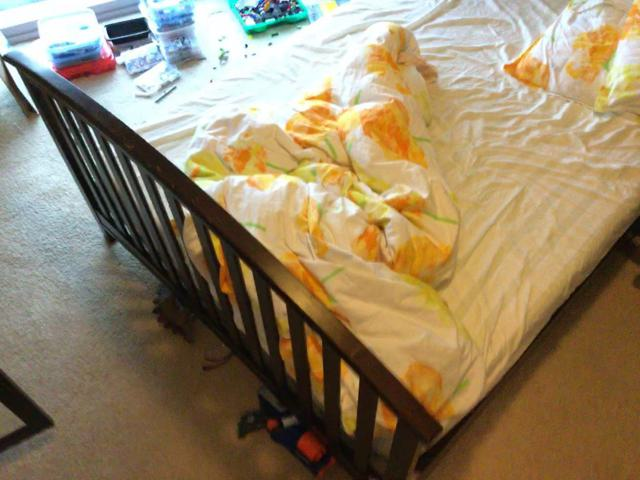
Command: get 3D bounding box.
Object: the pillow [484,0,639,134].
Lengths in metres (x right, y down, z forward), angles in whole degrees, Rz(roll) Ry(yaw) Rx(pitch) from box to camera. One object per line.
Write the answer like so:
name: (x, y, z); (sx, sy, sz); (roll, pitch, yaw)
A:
pillow: (0.990, -0.730, 1.940); (0.660, 0.220, 0.530); (-39, 61, -24)
